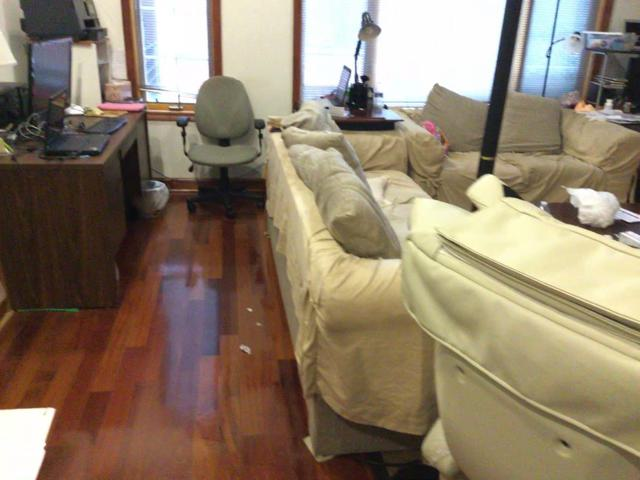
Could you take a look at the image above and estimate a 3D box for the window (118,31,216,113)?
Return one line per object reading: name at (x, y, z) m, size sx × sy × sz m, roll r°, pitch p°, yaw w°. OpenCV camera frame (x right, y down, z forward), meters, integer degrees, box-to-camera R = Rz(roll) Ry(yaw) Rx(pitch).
window at (-1.070, -1.200, 4.120) m, size 0.610 × 0.530 × 0.160 m, roll -4°, pitch 24°, yaw -8°
